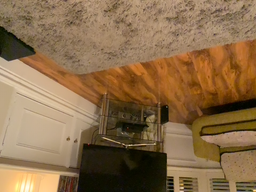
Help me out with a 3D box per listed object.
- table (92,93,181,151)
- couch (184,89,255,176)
[{"bbox_3d":[0.110,0.370,2.770,1.020,0.520,0.470,10,156,-18],"label":"table"},{"bbox_3d":[1.490,0.510,2.580,1.190,0.810,1.030,-15,151,36],"label":"couch"}]
